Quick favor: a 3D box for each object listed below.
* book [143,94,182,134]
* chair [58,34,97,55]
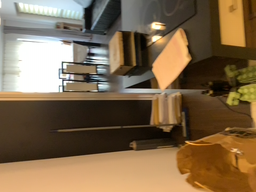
[{"bbox_3d":[0.400,0.200,2.500,0.300,0.340,0.430,174,96,-68],"label":"book"},{"bbox_3d":[-1.470,-1.470,6.150,0.360,1.050,0.410,177,93,-68],"label":"chair"}]
